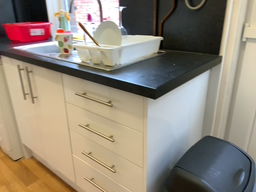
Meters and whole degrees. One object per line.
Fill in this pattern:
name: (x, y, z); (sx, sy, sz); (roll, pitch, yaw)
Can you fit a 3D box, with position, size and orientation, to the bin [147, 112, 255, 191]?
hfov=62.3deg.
bin: (0.400, 0.490, 1.040); (0.350, 0.580, 0.580); (17, 28, 36)
